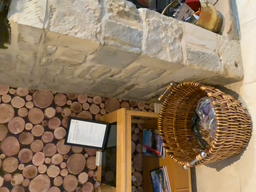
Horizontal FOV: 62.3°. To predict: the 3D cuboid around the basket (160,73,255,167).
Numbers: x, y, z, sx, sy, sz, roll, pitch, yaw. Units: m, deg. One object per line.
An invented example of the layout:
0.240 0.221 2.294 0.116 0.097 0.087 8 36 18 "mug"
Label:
0.560 0.210 1.560 0.560 0.350 0.550 -24 62 57 "basket"
